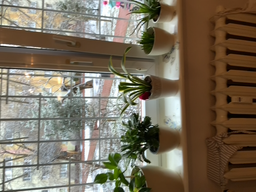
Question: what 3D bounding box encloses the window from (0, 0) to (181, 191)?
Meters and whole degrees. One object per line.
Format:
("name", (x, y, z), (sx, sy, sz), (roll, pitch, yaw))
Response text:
("window", (-0.300, -0.420, 1.230), (0.150, 1.190, 2.400), (158, 112, -71))
